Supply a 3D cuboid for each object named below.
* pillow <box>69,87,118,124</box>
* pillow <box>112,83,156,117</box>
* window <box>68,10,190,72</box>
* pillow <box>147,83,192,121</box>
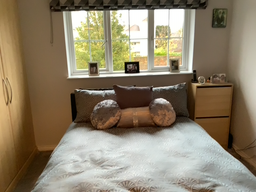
[{"bbox_3d":[-0.390,0.100,2.480,0.530,0.400,0.250,-1,5,-6],"label":"pillow"},{"bbox_3d":[0.060,0.040,2.420,0.470,0.330,0.180,-3,11,-9],"label":"pillow"},{"bbox_3d":[0.030,-0.780,3.030,1.680,0.820,0.050,-2,14,-3],"label":"window"},{"bbox_3d":[0.490,0.060,2.600,0.470,0.420,0.260,-1,9,-9],"label":"pillow"}]
